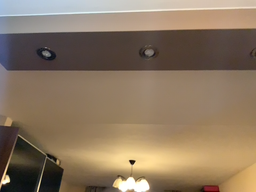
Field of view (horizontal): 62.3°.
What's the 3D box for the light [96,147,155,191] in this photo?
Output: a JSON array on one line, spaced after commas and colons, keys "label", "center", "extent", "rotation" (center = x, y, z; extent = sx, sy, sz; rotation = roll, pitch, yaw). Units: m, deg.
[{"label": "light", "center": [-0.040, 1.110, 3.080], "extent": [0.630, 0.370, 0.500], "rotation": [6, 67, 42]}]
